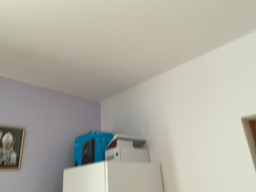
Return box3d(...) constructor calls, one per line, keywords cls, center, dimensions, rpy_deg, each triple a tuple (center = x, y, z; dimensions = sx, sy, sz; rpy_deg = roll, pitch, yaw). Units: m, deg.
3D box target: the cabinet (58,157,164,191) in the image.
box3d(cls="cabinet", center=(-0.090, 0.640, 1.240), dimensions=(0.430, 0.480, 0.460), rpy_deg=(-22, -28, 38))
